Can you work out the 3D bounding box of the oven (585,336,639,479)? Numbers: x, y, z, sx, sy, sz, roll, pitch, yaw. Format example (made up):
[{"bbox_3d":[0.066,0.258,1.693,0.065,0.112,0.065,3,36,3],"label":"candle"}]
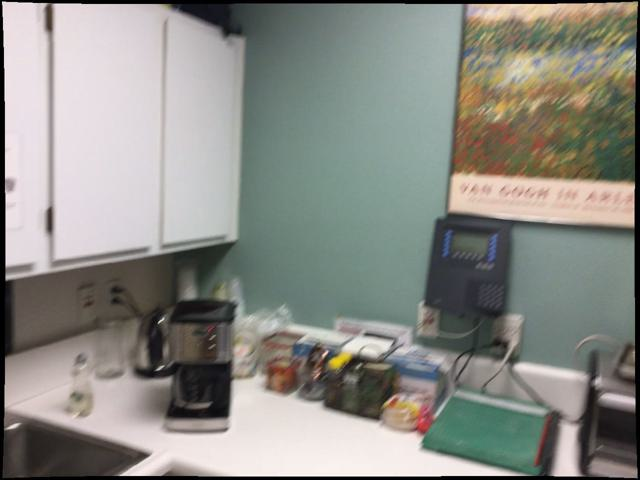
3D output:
[{"bbox_3d":[0.939,0.460,1.470,0.460,0.270,0.370,5,9,24],"label":"oven"}]
